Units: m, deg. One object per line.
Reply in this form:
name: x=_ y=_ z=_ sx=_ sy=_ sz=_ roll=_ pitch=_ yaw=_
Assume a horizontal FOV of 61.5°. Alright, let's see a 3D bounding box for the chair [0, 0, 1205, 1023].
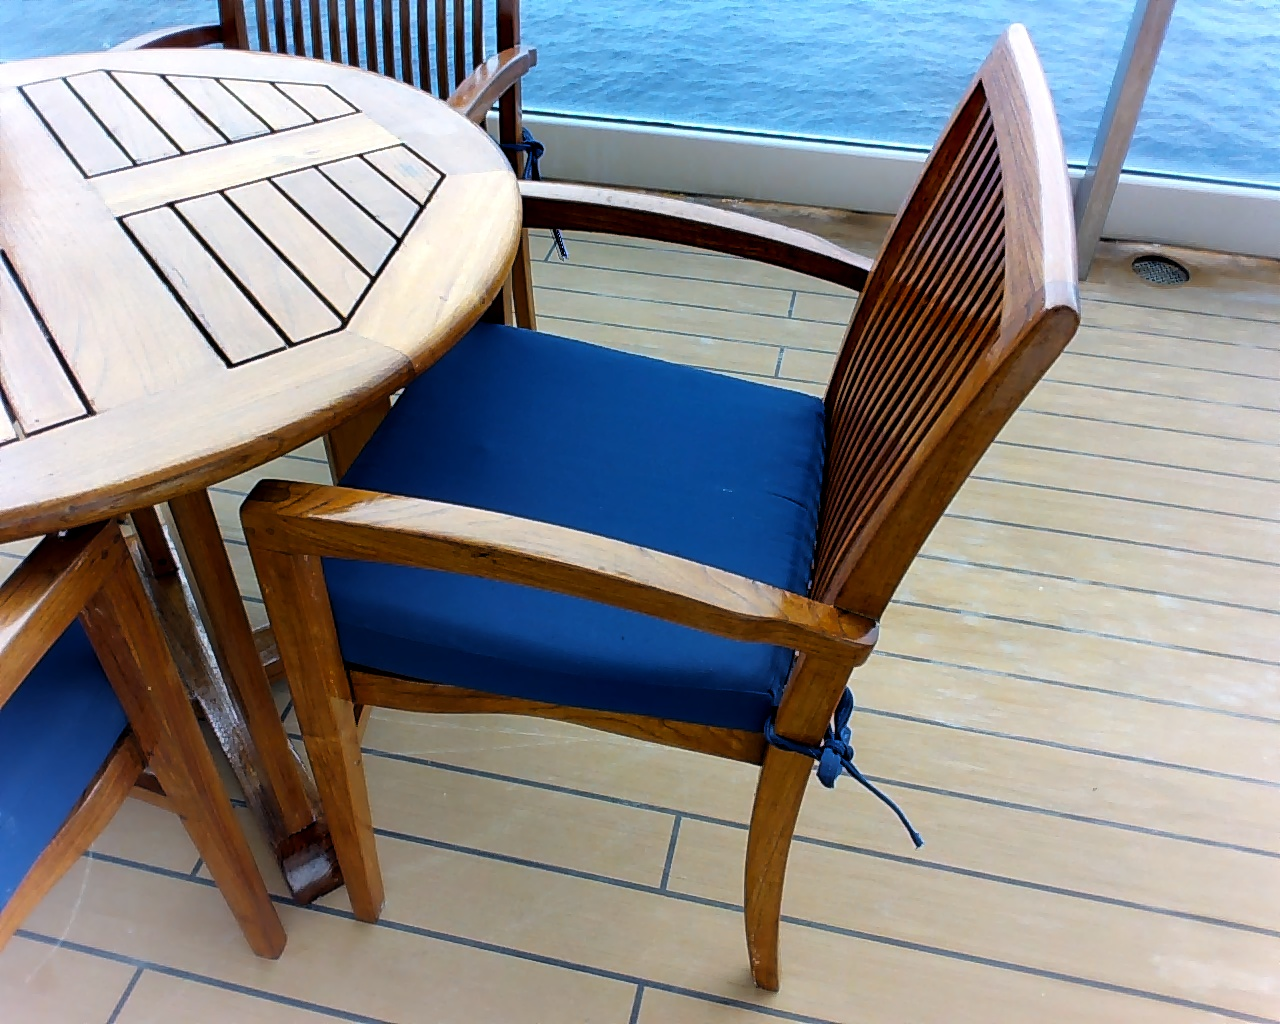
chair: x=-0.030 y=0.000 z=1.120 sx=0.760 sy=0.900 sz=0.630 roll=10 pitch=44 yaw=9
